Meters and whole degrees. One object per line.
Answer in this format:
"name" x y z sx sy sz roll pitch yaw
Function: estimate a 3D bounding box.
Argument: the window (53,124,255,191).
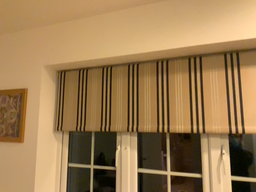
"window" 0.240 0.530 1.380 1.690 0.680 0.090 -3 -9 20
